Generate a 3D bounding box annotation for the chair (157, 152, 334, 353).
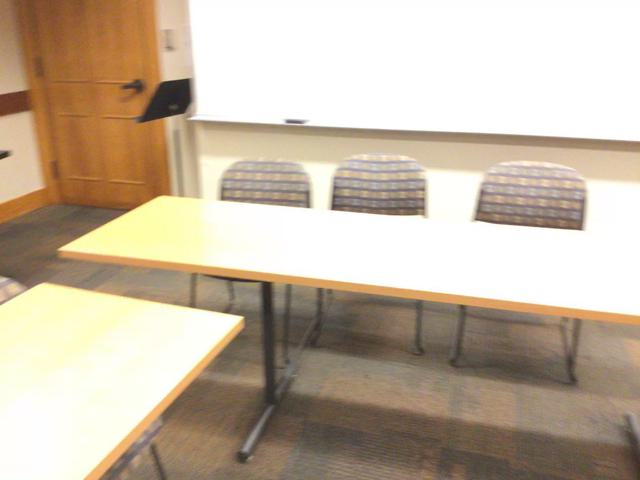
[{"bbox_3d":[-0.280,0.020,2.480,0.510,0.670,0.520,5,23,20],"label":"chair"}]
